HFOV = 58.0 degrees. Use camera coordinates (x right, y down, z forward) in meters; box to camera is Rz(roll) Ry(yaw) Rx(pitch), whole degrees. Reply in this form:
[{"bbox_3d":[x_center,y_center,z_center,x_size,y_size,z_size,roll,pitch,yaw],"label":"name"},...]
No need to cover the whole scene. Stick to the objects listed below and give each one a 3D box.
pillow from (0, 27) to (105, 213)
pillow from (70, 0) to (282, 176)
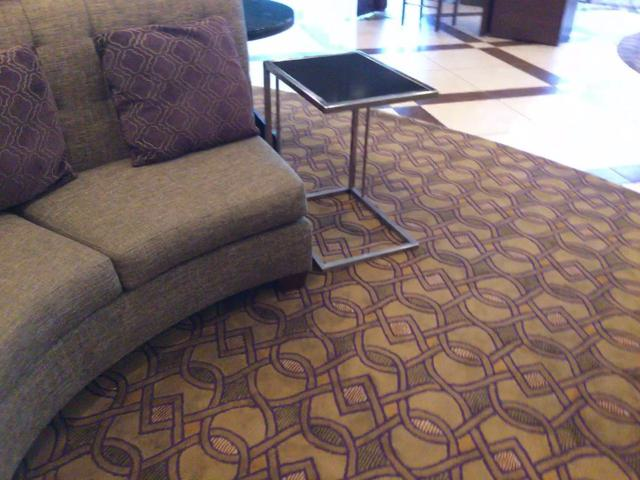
[{"bbox_3d":[-0.970,-0.330,1.660,0.220,0.430,0.580,6,30,26],"label":"pillow"},{"bbox_3d":[-0.500,-0.570,2.100,0.570,0.470,0.280,-28,28,-28],"label":"pillow"}]
